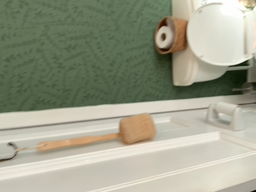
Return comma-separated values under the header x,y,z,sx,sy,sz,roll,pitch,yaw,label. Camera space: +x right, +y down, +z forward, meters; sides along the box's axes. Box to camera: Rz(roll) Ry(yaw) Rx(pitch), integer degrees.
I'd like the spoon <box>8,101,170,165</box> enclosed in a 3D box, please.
x,y,z,sx,sy,sz,roll,pitch,yaw,label
-0.120,0.110,0.780,0.170,0.540,0.120,-165,72,-65,spoon

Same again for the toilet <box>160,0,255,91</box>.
x,y,z,sx,sy,sz,roll,pitch,yaw,label
0.720,-0.350,1.180,0.680,0.820,0.570,-171,78,-66,toilet

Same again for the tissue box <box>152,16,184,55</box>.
x,y,z,sx,sy,sz,roll,pitch,yaw,label
0.230,-0.340,1.230,0.160,0.110,0.190,-166,73,-65,tissue box
